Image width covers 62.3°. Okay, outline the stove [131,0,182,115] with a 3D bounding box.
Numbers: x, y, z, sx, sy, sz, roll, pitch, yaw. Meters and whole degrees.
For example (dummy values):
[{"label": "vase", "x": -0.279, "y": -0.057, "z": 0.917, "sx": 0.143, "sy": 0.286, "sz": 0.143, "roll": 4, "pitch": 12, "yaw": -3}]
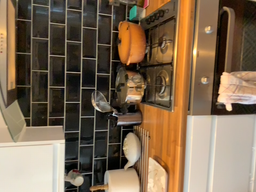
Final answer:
[{"label": "stove", "x": 0.140, "y": -0.230, "z": 1.290, "sx": 0.570, "sy": 0.030, "sz": 0.600, "roll": -167, "pitch": 78, "yaw": -70}]
